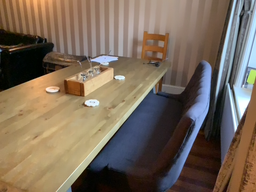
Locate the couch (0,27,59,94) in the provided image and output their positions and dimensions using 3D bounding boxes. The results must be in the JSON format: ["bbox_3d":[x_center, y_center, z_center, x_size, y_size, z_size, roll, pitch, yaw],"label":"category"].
[{"bbox_3d":[-2.730,-0.840,4.140,2.320,0.860,1.180,11,25,19],"label":"couch"}]
